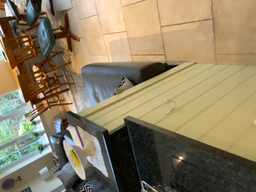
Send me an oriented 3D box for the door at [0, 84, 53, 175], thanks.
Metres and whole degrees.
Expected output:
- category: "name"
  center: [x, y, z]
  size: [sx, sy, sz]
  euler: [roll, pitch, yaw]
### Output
- category: "door"
  center: [-2.500, 0.760, 4.290]
  size: [0.050, 1.540, 1.560]
  euler: [13, 122, 50]
